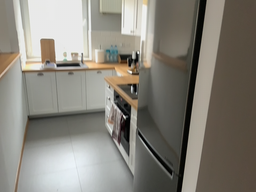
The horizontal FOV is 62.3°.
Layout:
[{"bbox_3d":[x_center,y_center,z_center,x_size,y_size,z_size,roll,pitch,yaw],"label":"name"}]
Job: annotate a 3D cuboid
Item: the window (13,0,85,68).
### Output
[{"bbox_3d":[-1.420,-1.410,3.940,1.180,1.720,0.130,-5,20,-21],"label":"window"}]
